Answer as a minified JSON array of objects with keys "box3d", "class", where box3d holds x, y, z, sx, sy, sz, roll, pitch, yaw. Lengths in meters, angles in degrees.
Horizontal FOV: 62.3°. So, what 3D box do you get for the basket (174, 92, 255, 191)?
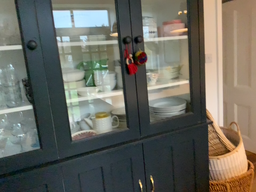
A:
[{"box3d":[0.790,0.520,1.920,0.530,1.000,0.430,-11,12,-26],"class":"basket"}]
